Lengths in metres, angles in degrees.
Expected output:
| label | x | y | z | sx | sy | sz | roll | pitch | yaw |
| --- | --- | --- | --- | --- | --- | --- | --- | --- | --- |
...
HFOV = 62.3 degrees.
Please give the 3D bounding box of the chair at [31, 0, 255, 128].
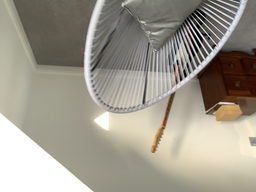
| label | x | y | z | sx | sy | sz | roll | pitch | yaw |
| --- | --- | --- | --- | --- | --- | --- | --- | --- | --- |
| chair | 0.140 | -0.410 | 1.020 | 0.800 | 0.810 | 0.710 | -24 | 146 | 35 |
